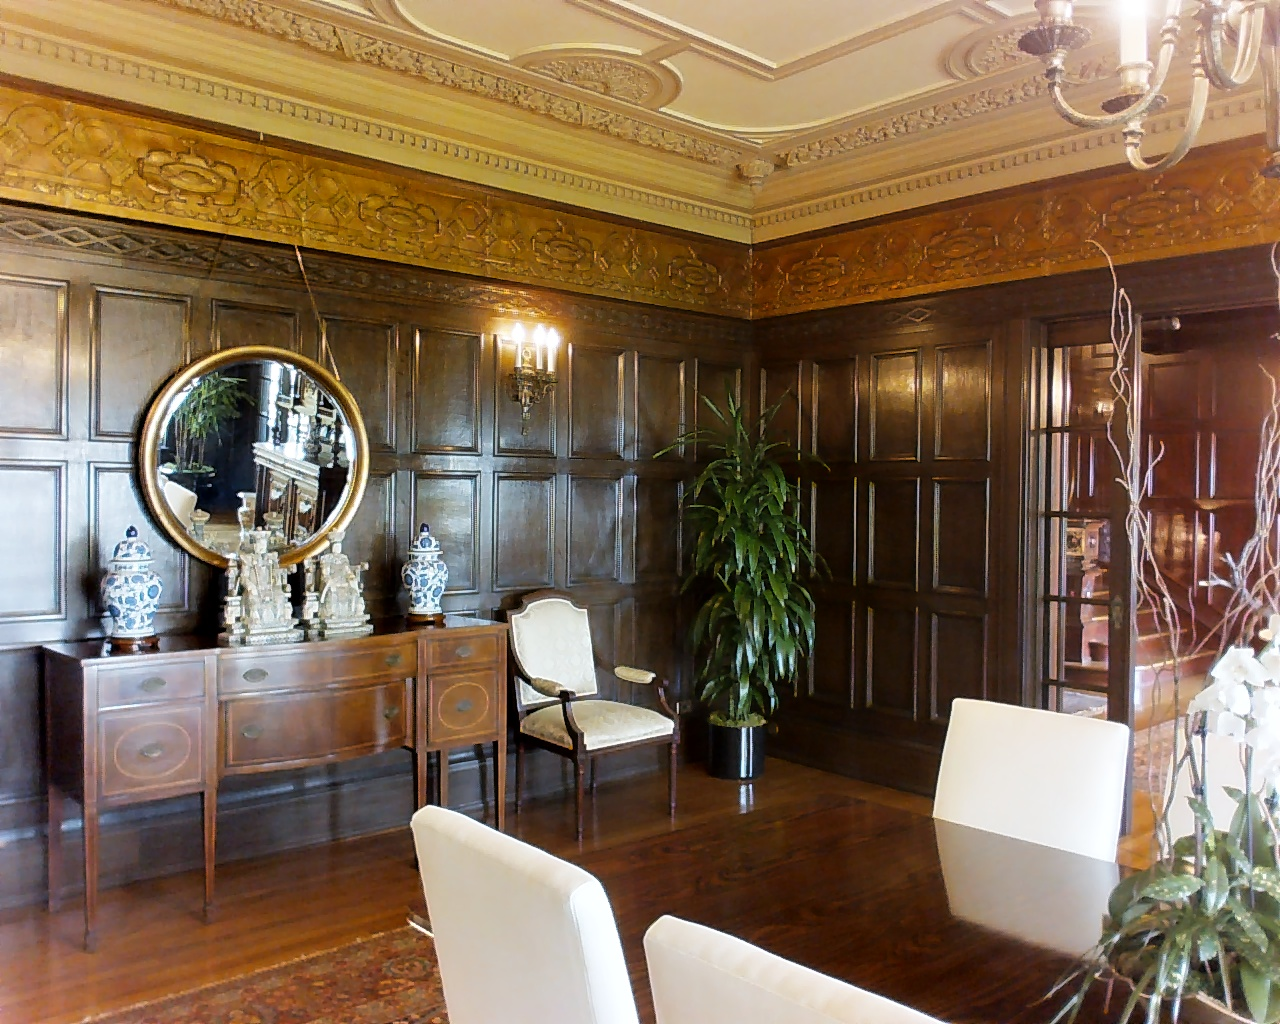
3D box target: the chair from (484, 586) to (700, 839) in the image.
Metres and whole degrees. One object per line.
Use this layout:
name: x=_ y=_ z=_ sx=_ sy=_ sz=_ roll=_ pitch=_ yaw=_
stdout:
chair: x=-0.240 y=0.930 z=5.330 sx=0.710 sy=1.040 sz=0.790 roll=0 pitch=1 yaw=-44

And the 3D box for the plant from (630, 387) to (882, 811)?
plant: x=0.640 y=0.420 z=5.980 sx=0.990 sy=2.090 sz=0.940 roll=0 pitch=1 yaw=-41
